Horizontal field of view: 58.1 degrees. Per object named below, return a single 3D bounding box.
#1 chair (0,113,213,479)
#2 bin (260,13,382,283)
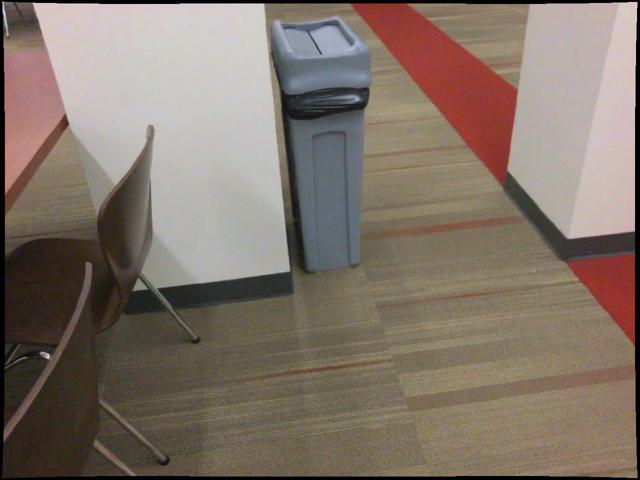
[{"bbox_3d":[-0.728,0.160,1.560,0.678,0.781,0.570,-4,34,1],"label":"chair"},{"bbox_3d":[0.010,-0.351,2.220,0.339,0.862,0.500,-8,34,-5],"label":"bin"}]
